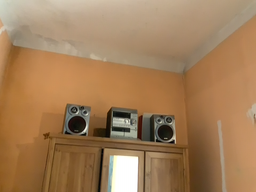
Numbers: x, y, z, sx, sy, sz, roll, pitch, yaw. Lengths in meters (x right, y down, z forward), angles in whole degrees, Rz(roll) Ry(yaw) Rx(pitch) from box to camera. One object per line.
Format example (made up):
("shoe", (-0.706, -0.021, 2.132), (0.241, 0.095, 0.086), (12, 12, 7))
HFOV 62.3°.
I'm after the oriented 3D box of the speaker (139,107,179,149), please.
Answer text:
("speaker", (0.330, 0.380, 2.400), (0.270, 0.370, 0.480), (8, -19, -14))
